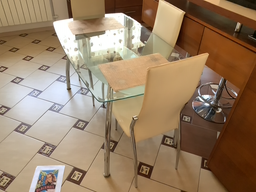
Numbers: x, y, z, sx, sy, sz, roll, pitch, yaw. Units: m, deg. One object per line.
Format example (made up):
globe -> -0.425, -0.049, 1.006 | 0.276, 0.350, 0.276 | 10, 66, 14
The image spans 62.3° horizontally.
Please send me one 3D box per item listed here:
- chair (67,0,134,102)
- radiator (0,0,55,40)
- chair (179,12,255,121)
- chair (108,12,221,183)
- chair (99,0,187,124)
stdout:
chair -> -0.280, -0.520, 2.100 | 0.400, 0.950, 0.560 | -18, 44, -23
radiator -> -1.590, -1.280, 3.100 | 0.850, 0.780, 0.150 | -18, 44, -23
chair -> 0.910, -0.280, 2.010 | 0.460, 0.800, 0.530 | -15, 43, -21
chair -> 0.140, 0.030, 1.450 | 0.370, 0.970, 0.560 | -14, 43, -20
chair -> 0.080, -0.290, 1.830 | 0.530, 0.970, 0.350 | -15, 43, -21
